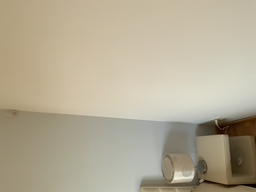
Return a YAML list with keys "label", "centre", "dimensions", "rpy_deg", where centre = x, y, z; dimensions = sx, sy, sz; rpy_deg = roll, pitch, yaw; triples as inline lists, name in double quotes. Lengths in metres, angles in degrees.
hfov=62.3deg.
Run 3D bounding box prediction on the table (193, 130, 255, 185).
- label: "table"
  centre: [0.900, 0.580, 2.010]
  dimensions: [0.440, 0.320, 0.440]
  rpy_deg: [136, 138, -67]
